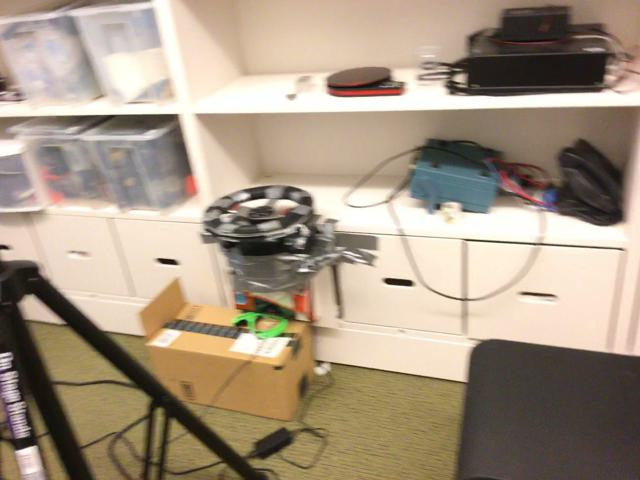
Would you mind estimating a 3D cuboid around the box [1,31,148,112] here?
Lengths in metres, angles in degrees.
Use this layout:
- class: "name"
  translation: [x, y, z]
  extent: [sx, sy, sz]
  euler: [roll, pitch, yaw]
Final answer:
- class: "box"
  translation: [-0.790, -0.560, 1.900]
  extent: [0.230, 0.170, 0.360]
  euler: [1, 27, 22]

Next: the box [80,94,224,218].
- class: "box"
  translation: [-0.550, -0.290, 1.960]
  extent: [0.240, 0.310, 0.350]
  euler: [1, 27, 22]

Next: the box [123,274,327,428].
- class: "box"
  translation: [-0.290, 0.340, 1.860]
  extent: [0.520, 0.350, 0.270]
  euler: [1, 27, 22]

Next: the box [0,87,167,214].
- class: "box"
  translation: [-0.820, -0.320, 2.050]
  extent: [0.320, 0.340, 0.350]
  euler: [1, 27, 22]

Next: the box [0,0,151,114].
- class: "box"
  translation: [-0.810, -0.610, 1.870]
  extent: [0.300, 0.300, 0.340]
  euler: [1, 27, 22]

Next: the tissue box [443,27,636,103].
- class: "tissue box"
  translation: [0.540, -0.440, 1.440]
  extent: [0.400, 0.080, 0.350]
  euler: [1, 27, 22]
